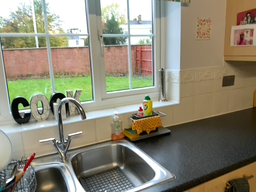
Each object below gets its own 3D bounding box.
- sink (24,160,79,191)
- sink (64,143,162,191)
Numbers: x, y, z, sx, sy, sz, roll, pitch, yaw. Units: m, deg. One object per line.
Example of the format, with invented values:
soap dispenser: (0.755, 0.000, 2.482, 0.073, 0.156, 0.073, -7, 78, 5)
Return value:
sink: (-0.350, 0.440, 0.960, 0.190, 0.120, 0.320, -8, 13, -27)
sink: (-0.100, 0.420, 1.070, 0.340, 0.140, 0.440, -8, 13, -27)
